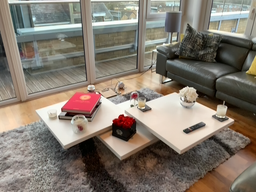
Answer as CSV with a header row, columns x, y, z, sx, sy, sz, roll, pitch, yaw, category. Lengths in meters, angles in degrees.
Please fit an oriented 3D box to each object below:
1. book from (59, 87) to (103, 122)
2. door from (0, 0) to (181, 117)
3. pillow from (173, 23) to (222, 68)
x,y,z,sx,sy,sz,roll,pitch,yaw,category
-0.440,0.070,2.080,0.280,0.150,0.400,5,27,9,book
-0.590,-1.070,2.860,3.860,2.160,0.080,-19,32,-34,door
0.980,-0.690,2.990,0.500,0.460,0.110,-21,28,33,pillow
